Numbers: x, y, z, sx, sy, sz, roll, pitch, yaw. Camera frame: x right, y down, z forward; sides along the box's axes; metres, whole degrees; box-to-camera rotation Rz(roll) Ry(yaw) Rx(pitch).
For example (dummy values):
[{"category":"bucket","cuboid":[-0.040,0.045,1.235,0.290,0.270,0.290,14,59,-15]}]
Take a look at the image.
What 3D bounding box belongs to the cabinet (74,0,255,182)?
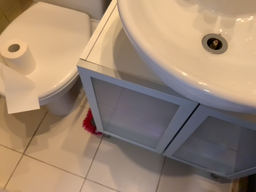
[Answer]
[{"category":"cabinet","cuboid":[0.210,0.010,0.850,0.610,0.670,0.380,18,63,7]}]
